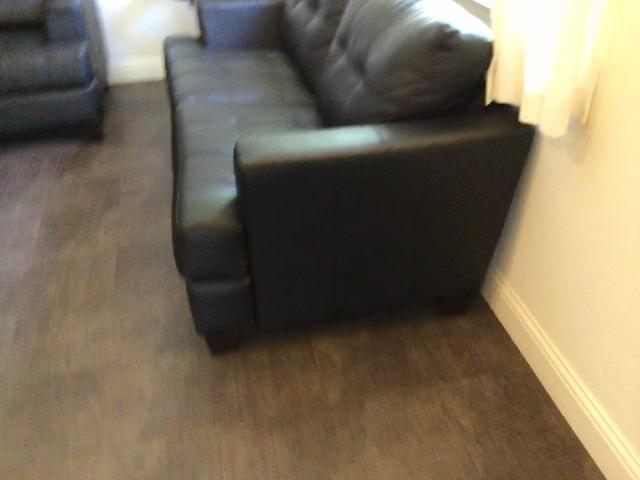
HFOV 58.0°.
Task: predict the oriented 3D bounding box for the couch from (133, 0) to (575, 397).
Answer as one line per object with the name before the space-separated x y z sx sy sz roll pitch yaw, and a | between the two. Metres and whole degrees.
couch | -0.160 -0.500 2.160 0.900 0.990 1.770 -6 35 -18

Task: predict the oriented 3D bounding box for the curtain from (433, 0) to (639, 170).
curtain | 0.500 -0.530 1.280 0.210 0.620 0.400 -6 35 -18
